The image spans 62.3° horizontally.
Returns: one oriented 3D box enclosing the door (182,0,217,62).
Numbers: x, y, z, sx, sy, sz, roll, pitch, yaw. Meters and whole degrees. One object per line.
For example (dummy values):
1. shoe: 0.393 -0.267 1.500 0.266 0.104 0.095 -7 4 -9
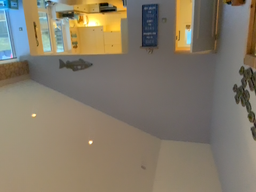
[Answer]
1. door: 1.260 -1.730 3.640 0.760 2.200 0.190 -15 -160 -38
